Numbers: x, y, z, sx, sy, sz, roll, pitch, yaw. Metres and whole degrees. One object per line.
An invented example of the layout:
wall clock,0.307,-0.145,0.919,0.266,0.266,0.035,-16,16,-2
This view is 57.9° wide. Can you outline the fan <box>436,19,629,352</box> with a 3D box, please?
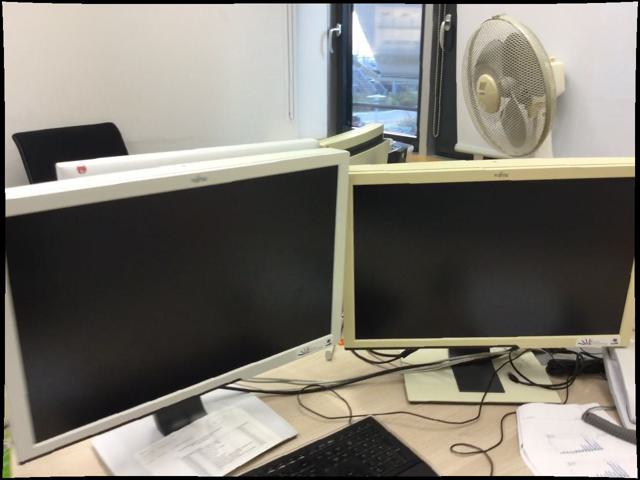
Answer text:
fan,0.629,-0.190,1.850,0.270,0.951,0.440,-8,20,-20
